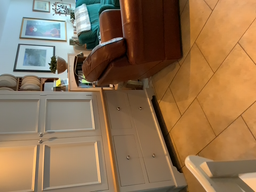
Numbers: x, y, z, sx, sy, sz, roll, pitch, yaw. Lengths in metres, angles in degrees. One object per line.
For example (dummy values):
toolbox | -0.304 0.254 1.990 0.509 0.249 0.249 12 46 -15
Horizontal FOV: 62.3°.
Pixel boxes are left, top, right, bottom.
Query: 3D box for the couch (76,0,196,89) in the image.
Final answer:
couch | -0.050 -0.710 2.410 1.200 0.940 1.060 156 112 -70
